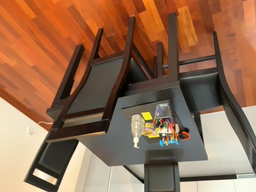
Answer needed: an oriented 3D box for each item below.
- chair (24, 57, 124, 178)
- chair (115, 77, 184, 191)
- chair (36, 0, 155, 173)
[{"bbox_3d":[-0.420,0.180,1.920,0.510,0.940,0.410,-17,135,27],"label":"chair"},{"bbox_3d":[0.240,0.380,2.010,0.410,0.990,0.480,-13,137,24],"label":"chair"},{"bbox_3d":[-0.100,-0.100,1.430,0.390,1.040,0.510,-10,138,22],"label":"chair"}]
